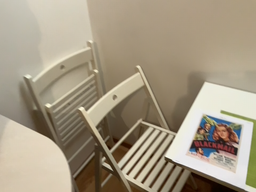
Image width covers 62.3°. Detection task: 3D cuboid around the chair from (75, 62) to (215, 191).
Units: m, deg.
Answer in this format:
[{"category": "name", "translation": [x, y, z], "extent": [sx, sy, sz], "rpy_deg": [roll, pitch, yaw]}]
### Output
[{"category": "chair", "translation": [0.110, 0.300, 1.160], "extent": [0.450, 0.770, 0.460], "rpy_deg": [18, 42, 26]}]
